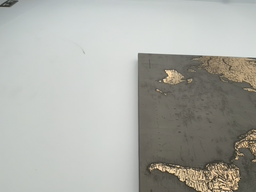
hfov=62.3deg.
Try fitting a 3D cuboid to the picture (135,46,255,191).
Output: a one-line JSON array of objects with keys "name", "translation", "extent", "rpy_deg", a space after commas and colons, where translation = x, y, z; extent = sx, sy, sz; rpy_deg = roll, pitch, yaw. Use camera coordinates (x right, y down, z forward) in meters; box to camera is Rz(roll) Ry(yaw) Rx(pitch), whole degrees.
[{"name": "picture", "translation": [0.340, 0.090, 0.680], "extent": [0.940, 0.630, 0.030], "rpy_deg": [-87, 180, -49]}]
